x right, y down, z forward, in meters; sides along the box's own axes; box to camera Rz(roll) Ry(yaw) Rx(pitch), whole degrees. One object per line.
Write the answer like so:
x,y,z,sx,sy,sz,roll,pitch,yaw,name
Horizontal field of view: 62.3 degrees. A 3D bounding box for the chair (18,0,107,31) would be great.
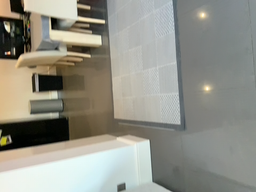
-0.800,-1.110,2.610,0.510,0.930,0.370,-1,93,57,chair
